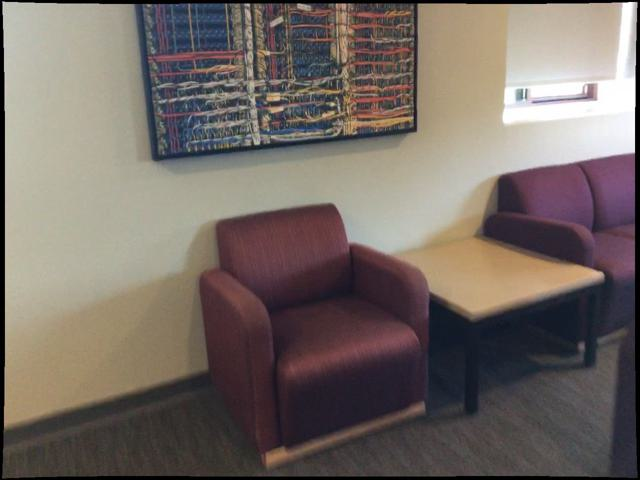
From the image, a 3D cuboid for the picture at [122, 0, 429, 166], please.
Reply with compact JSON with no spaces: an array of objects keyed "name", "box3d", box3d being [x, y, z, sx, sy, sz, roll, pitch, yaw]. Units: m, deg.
[{"name":"picture","box3d":[-0.120,-0.872,2.420,1.337,1.012,0.100,-8,18,-26]}]
